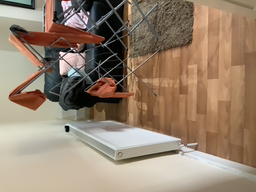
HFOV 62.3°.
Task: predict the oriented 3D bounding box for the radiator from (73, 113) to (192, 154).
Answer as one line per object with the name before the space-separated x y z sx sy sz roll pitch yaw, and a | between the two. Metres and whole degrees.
radiator | -0.040 0.300 2.040 1.100 0.670 0.160 1 91 60
